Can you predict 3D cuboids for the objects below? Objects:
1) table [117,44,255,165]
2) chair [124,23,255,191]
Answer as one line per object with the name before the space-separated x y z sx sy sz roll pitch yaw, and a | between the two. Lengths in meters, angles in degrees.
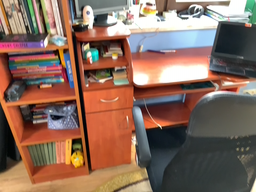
table | 0.410 0.050 1.710 0.920 0.740 0.470 -6 35 -11
chair | 0.350 0.260 1.110 0.620 1.070 0.630 -6 34 -10
